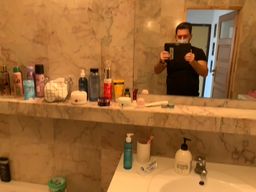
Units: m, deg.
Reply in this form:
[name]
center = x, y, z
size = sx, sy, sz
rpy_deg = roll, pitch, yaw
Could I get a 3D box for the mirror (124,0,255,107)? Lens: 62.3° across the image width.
[mirror]
center = 0.360, -0.330, 1.090
size = 0.740, 0.730, 0.130
rpy_deg = 3, 13, 8
